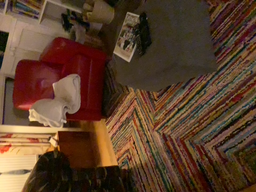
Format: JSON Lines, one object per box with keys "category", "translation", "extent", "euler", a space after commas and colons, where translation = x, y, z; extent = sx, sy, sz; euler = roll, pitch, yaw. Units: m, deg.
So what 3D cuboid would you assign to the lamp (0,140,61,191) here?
{"category": "lamp", "translation": [-1.210, 0.730, 2.170], "extent": [0.410, 0.880, 0.390], "euler": [-51, 45, 35]}
